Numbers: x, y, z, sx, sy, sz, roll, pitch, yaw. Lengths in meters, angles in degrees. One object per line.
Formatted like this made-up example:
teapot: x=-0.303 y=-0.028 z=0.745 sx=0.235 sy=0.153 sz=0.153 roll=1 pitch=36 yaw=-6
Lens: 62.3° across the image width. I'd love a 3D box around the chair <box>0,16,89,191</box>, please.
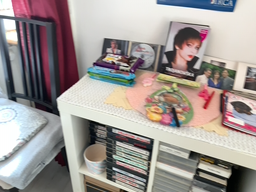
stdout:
chair: x=-0.580 y=0.190 z=1.080 sx=0.520 sy=1.010 sz=0.480 roll=14 pitch=35 yaw=16
